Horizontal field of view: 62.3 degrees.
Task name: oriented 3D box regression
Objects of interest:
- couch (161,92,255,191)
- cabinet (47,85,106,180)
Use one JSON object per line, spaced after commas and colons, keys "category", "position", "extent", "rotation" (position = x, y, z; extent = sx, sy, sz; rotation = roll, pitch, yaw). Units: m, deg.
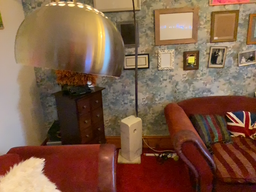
{"category": "couch", "position": [1.150, 0.510, 2.430], "extent": [1.400, 0.770, 1.070], "rotation": [-2, 19, 2]}
{"category": "cabinet", "position": [-0.600, 0.420, 2.570], "extent": [0.410, 0.990, 0.410], "rotation": [10, 22, 32]}
